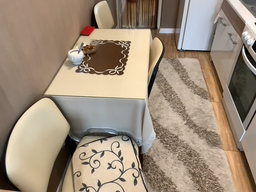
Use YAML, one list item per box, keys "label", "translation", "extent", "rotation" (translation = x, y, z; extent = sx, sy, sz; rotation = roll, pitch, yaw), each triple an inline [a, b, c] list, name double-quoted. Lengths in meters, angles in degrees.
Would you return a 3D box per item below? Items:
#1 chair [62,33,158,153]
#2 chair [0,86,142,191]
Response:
- label: "chair"
  translation: [-0.080, -0.010, 1.700]
  extent: [0.570, 0.800, 0.500]
  rotation: [3, 41, 5]
- label: "chair"
  translation: [-0.230, 0.430, 1.200]
  extent: [0.570, 0.810, 0.500]
  rotation: [3, 41, 5]
